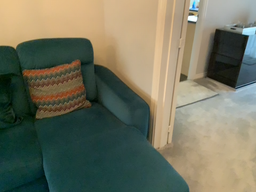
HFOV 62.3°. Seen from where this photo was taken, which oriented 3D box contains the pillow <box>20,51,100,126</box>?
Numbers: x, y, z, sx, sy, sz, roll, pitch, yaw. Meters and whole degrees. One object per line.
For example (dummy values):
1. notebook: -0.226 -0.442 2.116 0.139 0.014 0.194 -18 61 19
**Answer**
1. pillow: -0.540 -0.070 1.760 0.470 0.400 0.210 -32 38 -18
